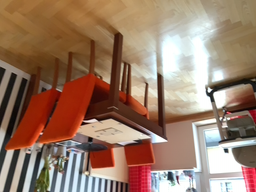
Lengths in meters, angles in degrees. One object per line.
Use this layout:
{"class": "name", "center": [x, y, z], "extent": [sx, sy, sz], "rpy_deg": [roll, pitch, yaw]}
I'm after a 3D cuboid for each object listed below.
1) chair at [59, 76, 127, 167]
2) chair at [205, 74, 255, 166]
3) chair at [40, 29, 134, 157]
{"class": "chair", "center": [-0.400, 0.360, 2.730], "extent": [0.480, 0.960, 0.620], "rpy_deg": [-17, 148, 32]}
{"class": "chair", "center": [1.390, 0.330, 2.630], "extent": [0.560, 0.930, 0.560], "rpy_deg": [-16, 148, 30]}
{"class": "chair", "center": [-0.320, 0.010, 2.020], "extent": [0.510, 0.970, 0.600], "rpy_deg": [-16, 148, 30]}
